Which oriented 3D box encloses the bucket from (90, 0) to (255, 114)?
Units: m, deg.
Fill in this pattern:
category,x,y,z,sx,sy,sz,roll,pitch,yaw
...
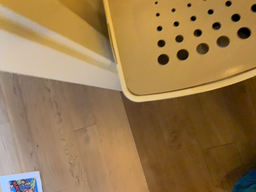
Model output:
category,x,y,z,sx,sy,sz,roll,pitch,yaw
bucket,0.230,-0.190,0.740,0.460,0.580,0.350,-19,83,14
